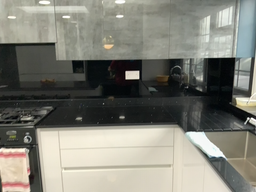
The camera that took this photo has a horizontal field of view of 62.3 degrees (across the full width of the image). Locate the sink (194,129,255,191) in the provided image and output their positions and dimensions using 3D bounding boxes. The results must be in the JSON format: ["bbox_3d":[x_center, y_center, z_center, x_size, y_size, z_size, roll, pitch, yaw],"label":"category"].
[{"bbox_3d":[0.700,0.440,1.300,0.350,0.250,0.640,-1,11,-3],"label":"sink"}]
